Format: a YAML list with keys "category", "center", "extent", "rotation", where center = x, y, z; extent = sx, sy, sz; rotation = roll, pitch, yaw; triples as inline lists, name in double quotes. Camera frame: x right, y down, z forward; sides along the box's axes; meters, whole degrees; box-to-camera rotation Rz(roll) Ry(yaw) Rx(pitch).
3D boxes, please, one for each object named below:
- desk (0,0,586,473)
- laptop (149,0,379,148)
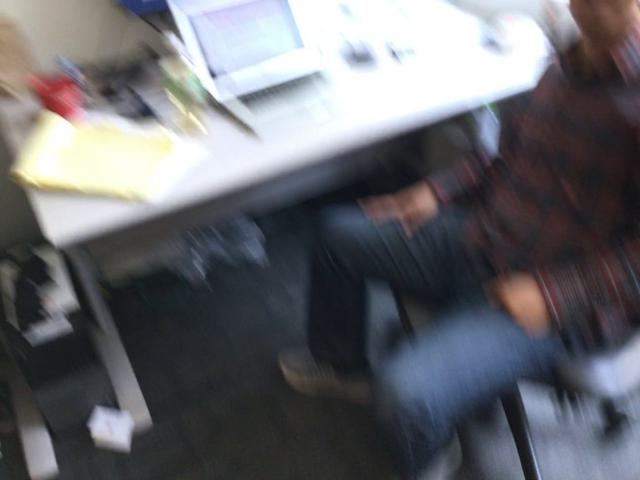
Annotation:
- category: "desk"
  center: [-0.110, -0.200, 1.800]
  extent: [1.620, 0.750, 0.750]
  rotation: [-25, 45, -24]
- category: "laptop"
  center: [-0.150, -0.490, 1.510]
  extent: [0.400, 0.210, 0.460]
  rotation: [-25, 45, -24]
